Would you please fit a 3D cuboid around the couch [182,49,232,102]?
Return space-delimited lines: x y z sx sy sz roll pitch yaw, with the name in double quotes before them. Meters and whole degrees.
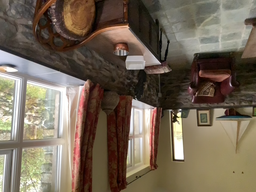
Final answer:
"couch" 1.460 -0.350 4.070 0.690 0.800 0.840 -1 171 7

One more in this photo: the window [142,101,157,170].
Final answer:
"window" 0.450 0.810 4.500 0.200 1.370 0.400 -3 171 21

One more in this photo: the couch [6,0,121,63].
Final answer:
"couch" -0.420 -0.730 1.560 0.570 0.780 0.530 -3 171 22

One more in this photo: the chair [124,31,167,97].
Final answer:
"chair" 0.260 -0.450 3.160 0.530 0.850 0.350 -4 170 25
